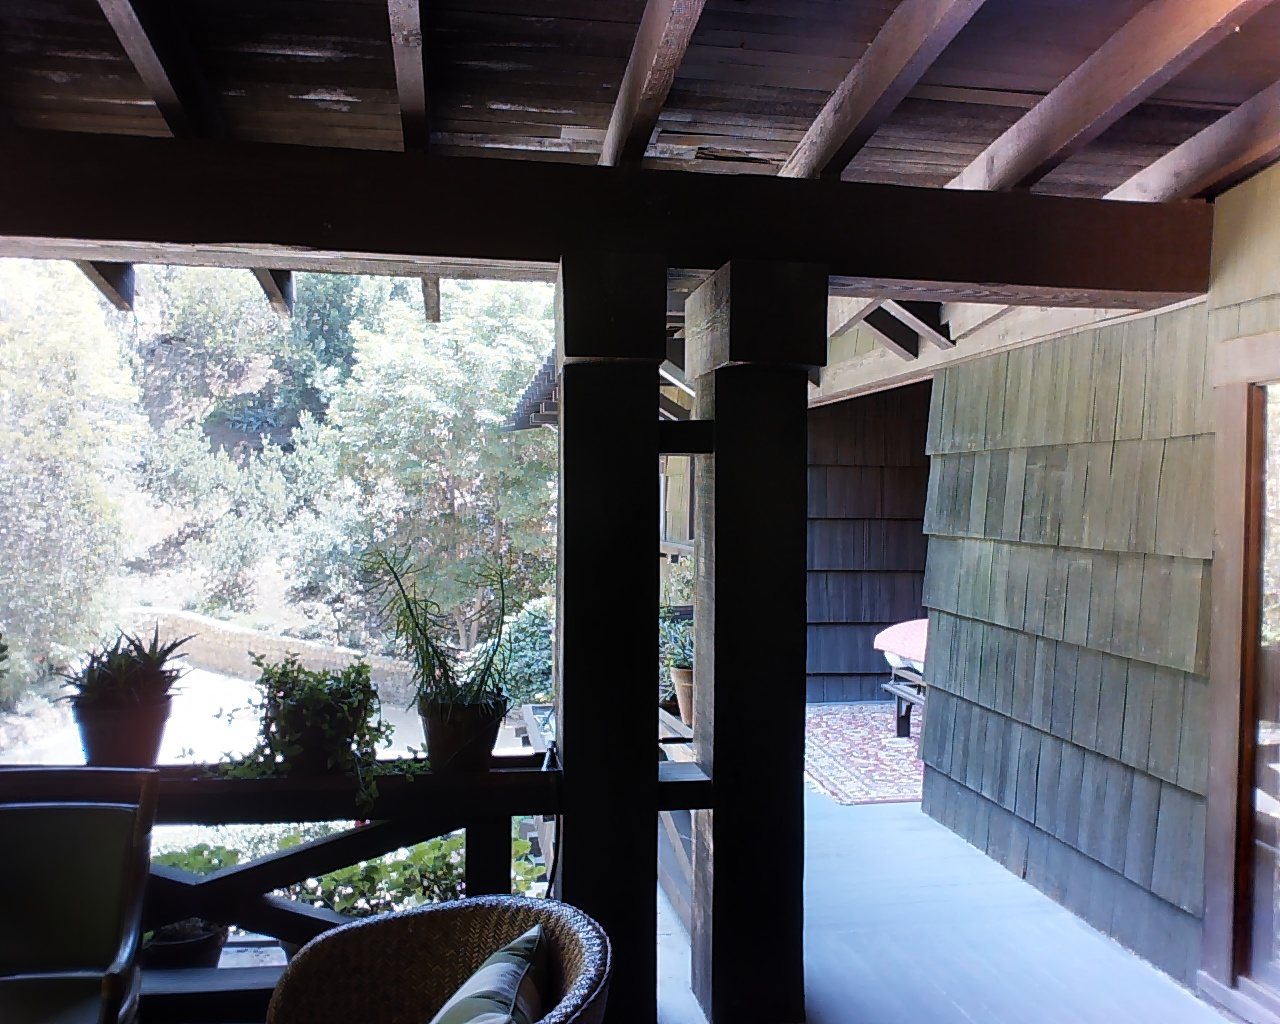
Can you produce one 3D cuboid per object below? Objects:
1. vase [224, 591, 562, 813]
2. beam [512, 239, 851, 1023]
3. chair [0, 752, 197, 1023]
[{"bbox_3d":[-0.710,0.530,3.190,0.900,0.550,0.480,1,0,-11],"label":"vase"},{"bbox_3d":[0.080,0.410,3.330,0.880,2.270,0.780,1,0,-10],"label":"beam"},{"bbox_3d":[-1.370,1.040,2.240,0.700,0.920,0.630,1,0,-10],"label":"chair"}]
